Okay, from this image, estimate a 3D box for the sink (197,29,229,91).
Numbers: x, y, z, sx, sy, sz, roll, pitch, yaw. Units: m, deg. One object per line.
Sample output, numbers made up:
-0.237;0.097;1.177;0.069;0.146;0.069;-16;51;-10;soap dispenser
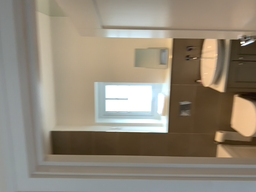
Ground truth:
0.870;-0.370;2.210;0.370;0.130;0.580;-91;3;-78;sink
